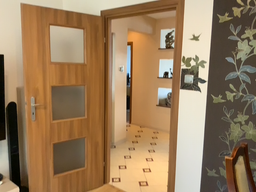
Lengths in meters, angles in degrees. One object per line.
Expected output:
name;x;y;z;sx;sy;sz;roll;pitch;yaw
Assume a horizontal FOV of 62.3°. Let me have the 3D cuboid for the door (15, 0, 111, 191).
door;-0.630;0.050;2.260;0.910;1.890;0.170;-4;10;-35
